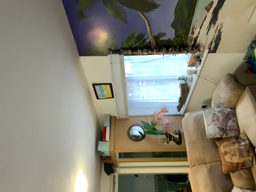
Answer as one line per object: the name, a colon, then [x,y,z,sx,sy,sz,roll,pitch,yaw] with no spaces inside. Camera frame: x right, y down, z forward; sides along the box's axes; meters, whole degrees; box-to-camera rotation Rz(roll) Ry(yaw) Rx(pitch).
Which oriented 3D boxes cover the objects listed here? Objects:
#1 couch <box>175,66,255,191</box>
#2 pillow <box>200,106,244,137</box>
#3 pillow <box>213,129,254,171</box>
couch: [1.240,0.620,2.370,0.980,1.010,1.660,88,180,-55]
pillow: [1.140,0.310,2.600,0.140,0.400,0.320,79,-172,-52]
pillow: [1.170,0.610,2.380,0.210,0.290,0.350,37,-139,-40]
